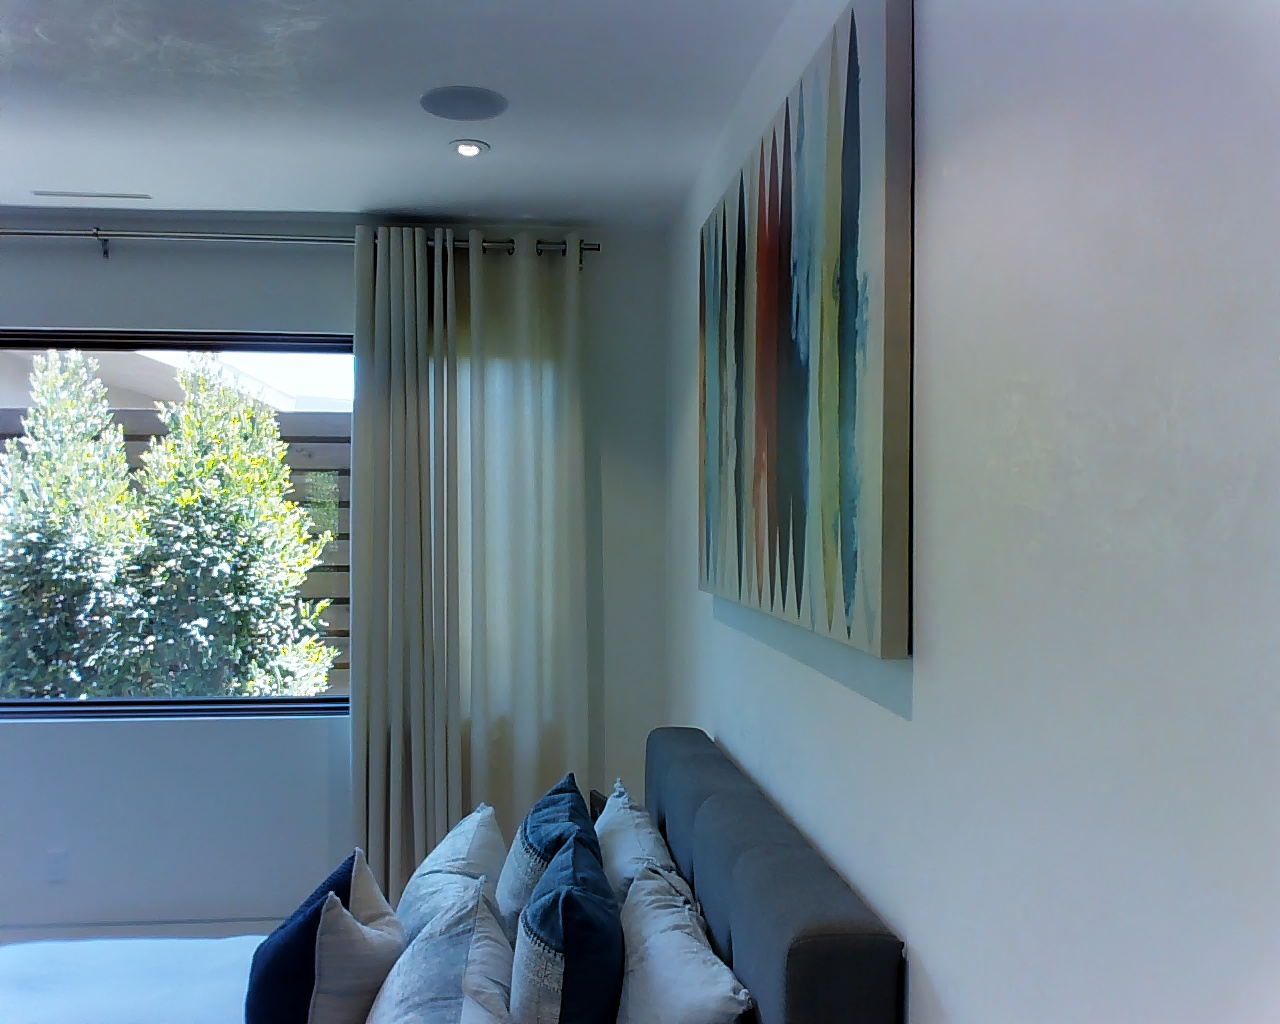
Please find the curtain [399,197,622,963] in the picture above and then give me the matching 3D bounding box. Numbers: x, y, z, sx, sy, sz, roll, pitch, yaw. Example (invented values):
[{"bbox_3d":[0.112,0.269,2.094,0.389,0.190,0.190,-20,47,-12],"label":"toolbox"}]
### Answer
[{"bbox_3d":[-0.490,0.250,4.110,0.820,2.810,0.230,0,0,-7],"label":"curtain"}]
